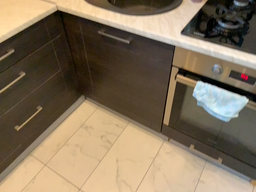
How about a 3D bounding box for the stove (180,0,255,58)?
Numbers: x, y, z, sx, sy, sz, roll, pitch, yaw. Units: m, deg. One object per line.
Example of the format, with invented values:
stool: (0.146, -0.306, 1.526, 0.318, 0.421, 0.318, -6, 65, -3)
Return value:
stove: (0.620, -0.330, 0.930, 0.600, 0.050, 0.540, 25, 52, 21)
